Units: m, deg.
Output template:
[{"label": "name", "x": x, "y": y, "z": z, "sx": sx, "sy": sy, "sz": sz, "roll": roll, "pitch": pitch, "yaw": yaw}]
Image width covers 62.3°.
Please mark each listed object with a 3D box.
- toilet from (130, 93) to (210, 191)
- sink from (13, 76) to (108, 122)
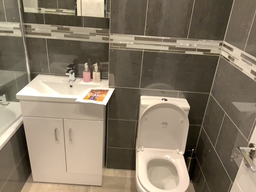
[{"label": "toilet", "x": 0.230, "y": 0.500, "z": 1.580, "sx": 0.370, "sy": 0.840, "sz": 0.610, "roll": 4, "pitch": 25, "yaw": 0}, {"label": "sink", "x": -0.490, "y": 0.010, "z": 1.680, "sx": 0.620, "sy": 0.170, "sz": 0.390, "roll": 4, "pitch": 25, "yaw": -2}]
